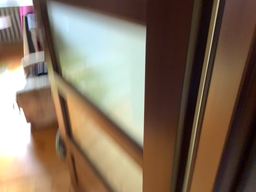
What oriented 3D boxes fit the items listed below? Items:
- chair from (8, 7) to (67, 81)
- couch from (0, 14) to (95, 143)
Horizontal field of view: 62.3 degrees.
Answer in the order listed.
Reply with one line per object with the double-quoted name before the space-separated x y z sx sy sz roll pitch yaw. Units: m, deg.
"chair" -1.170 -0.700 2.880 0.490 0.880 0.410 -4 30 -6
"couch" -0.830 -0.240 2.050 0.850 0.880 0.900 -7 30 -11
